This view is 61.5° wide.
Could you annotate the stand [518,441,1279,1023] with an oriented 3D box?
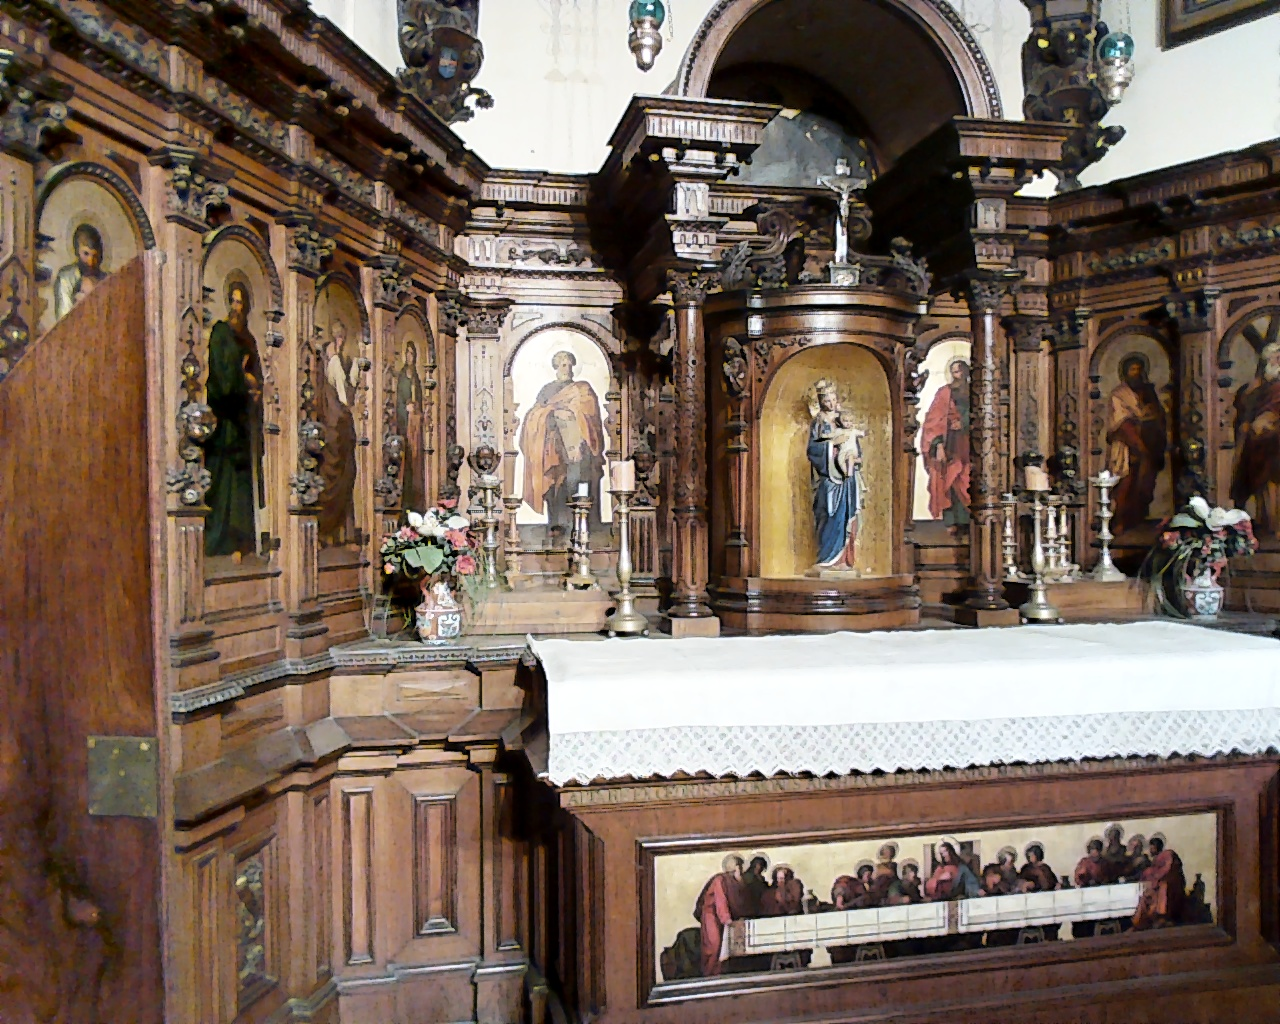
[{"bbox_3d":[0.690,0.620,2.780,1.939,1.550,0.780,0,1,-10],"label":"stand"}]
